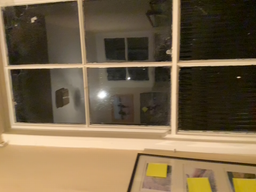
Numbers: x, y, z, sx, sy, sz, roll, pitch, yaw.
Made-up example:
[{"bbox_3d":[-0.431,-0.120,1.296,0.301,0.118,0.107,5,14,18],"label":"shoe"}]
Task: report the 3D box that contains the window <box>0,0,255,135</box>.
[{"bbox_3d":[0.220,-0.200,0.940,0.050,1.940,0.750,-48,-44,-76],"label":"window"}]
